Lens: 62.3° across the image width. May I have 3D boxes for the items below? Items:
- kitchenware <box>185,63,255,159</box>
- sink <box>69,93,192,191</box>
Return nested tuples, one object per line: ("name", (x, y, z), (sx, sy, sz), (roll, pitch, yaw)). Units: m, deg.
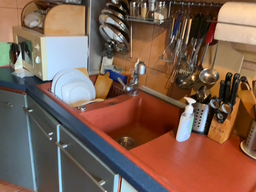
("kitchenware", (0.470, 0.050, 0.870), (0.180, 0.270, 0.370), (-16, 31, -42))
("sink", (0.010, 0.180, 1.060), (0.460, 0.200, 0.380), (-14, 30, -41))
